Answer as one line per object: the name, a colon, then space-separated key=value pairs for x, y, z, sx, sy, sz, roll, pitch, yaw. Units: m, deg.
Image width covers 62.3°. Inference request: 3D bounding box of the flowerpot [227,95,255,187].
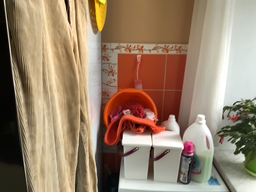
flowerpot: x=0.770 y=0.250 z=1.240 sx=0.250 sy=0.410 sz=0.360 roll=10 pitch=18 yaw=30
